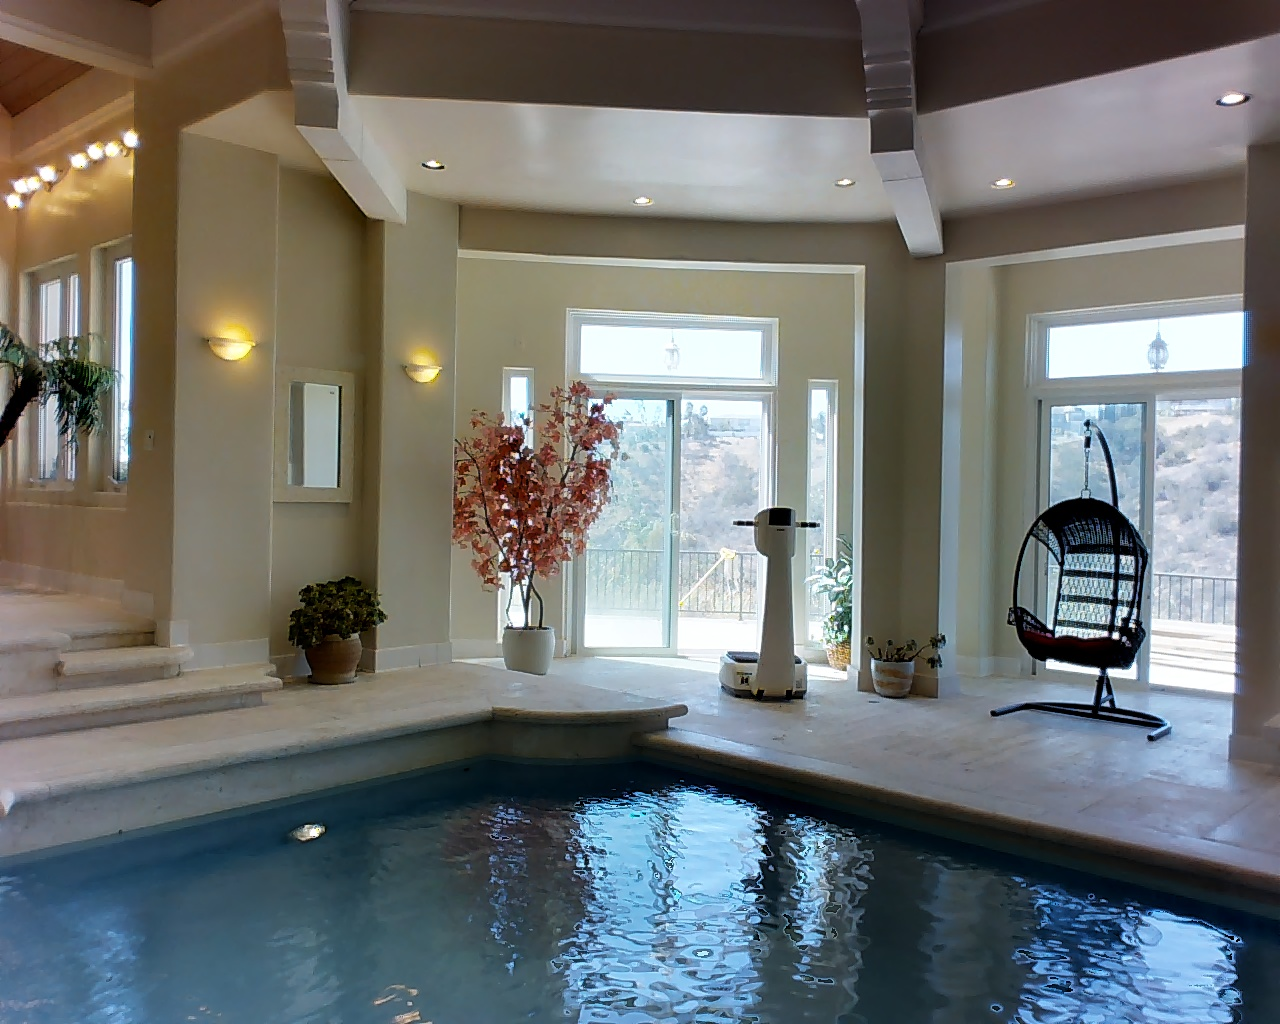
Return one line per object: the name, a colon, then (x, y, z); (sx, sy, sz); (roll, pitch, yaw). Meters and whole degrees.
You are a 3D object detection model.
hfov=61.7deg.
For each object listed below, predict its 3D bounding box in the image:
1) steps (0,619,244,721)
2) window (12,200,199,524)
steps: (-3.000, 0.830, 5.780); (0.700, 0.340, 1.450); (2, 1, 41)
window: (-4.031, -1.000, 7.930); (2.690, 2.100, 0.240); (2, 1, 42)
